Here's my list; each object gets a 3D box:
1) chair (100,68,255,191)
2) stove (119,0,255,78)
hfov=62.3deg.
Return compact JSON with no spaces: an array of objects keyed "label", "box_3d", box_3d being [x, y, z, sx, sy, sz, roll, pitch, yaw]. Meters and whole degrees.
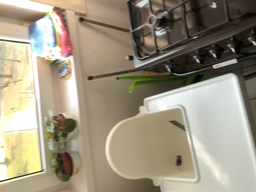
[{"label":"chair","box_3d":[0.400,0.170,1.020,0.530,0.860,0.410,-19,78,47]},{"label":"stove","box_3d":[0.200,-0.420,0.700,0.520,0.170,0.610,-15,81,47]}]
